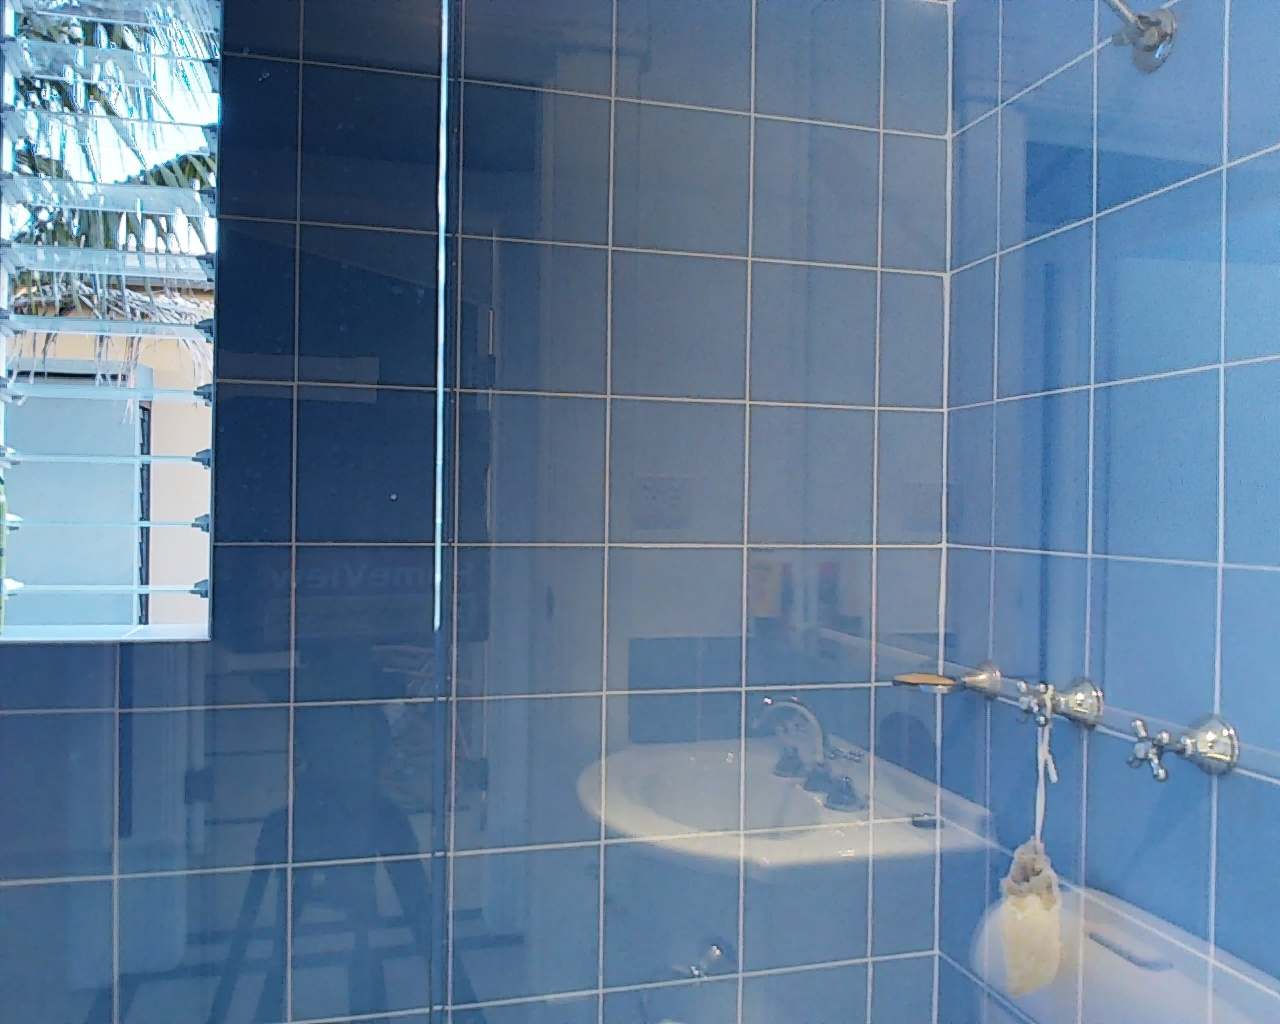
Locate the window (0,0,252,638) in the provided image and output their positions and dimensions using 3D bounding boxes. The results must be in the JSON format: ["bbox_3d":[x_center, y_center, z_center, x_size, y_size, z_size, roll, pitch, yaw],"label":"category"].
[{"bbox_3d":[-0.680,-0.340,1.380,0.310,0.970,0.260,1,0,-16],"label":"window"}]
